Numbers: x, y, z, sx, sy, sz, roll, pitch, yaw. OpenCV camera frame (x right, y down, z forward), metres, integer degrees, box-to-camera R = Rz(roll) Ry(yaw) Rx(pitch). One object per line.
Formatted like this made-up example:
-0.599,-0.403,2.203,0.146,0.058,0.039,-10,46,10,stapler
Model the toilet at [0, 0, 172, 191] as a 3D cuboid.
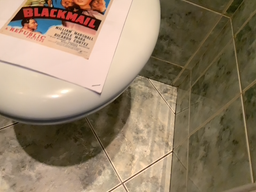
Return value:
-0.150,-0.080,0.580,0.360,0.460,0.510,18,54,-5,toilet
